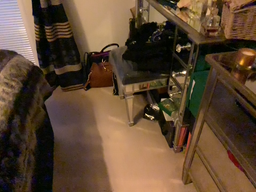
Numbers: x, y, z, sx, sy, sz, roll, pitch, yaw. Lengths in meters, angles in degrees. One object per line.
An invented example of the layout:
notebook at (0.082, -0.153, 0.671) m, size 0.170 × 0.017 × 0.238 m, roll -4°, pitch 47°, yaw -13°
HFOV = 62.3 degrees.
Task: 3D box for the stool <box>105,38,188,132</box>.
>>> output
stool at (0.100, -0.100, 1.590) m, size 0.440 × 0.470 × 0.460 m, roll -9°, pitch 39°, yaw -12°
